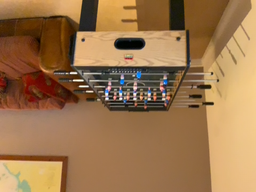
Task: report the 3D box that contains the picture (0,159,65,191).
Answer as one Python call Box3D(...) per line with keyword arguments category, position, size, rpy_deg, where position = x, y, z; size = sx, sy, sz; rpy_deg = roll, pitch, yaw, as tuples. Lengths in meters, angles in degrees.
Box3D(category="picture", position=(-1.390, 1.220, 2.670), size=(1.110, 0.800, 0.090), rpy_deg=(0, 166, 6))
